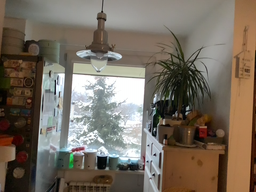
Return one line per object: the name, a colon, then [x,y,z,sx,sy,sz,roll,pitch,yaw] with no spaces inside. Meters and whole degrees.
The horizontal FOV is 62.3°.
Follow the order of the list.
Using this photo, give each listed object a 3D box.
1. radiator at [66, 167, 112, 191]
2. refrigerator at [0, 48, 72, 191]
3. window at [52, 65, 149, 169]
radiator: [-0.480,1.240,2.560,0.520,0.700,0.150,4,-2,-6]
refrigerator: [-1.110,0.630,2.170,0.700,2.030,0.910,4,-2,-2]
window: [-0.340,0.260,2.750,1.120,1.210,0.190,4,-2,1]
